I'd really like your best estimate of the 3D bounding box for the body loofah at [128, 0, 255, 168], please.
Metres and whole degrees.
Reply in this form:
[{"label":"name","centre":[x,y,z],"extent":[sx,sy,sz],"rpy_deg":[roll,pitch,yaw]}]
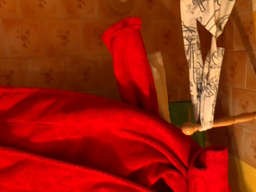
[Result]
[{"label":"body loofah","centre":[0.160,-0.230,0.550],"extent":[0.230,0.690,0.330],"rpy_deg":[-4,-170,-16]}]
